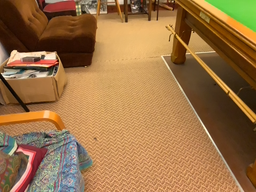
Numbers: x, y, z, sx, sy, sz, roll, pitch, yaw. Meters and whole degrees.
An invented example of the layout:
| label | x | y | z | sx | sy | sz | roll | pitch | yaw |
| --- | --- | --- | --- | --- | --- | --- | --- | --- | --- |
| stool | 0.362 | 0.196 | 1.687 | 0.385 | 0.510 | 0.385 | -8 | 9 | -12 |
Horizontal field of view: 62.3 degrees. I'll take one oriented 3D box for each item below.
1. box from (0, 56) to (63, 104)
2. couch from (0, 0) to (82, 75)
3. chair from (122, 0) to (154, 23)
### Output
| label | x | y | z | sx | sy | sz | roll | pitch | yaw |
| --- | --- | --- | --- | --- | --- | --- | --- | --- | --- |
| box | -0.920 | -0.150 | 1.920 | 0.550 | 0.280 | 0.330 | -2 | 39 | -4 |
| couch | -1.050 | -0.790 | 2.430 | 0.910 | 0.740 | 0.790 | -4 | 39 | -7 |
| chair | 0.150 | -1.720 | 3.570 | 0.470 | 0.780 | 0.550 | -4 | 39 | -6 |
